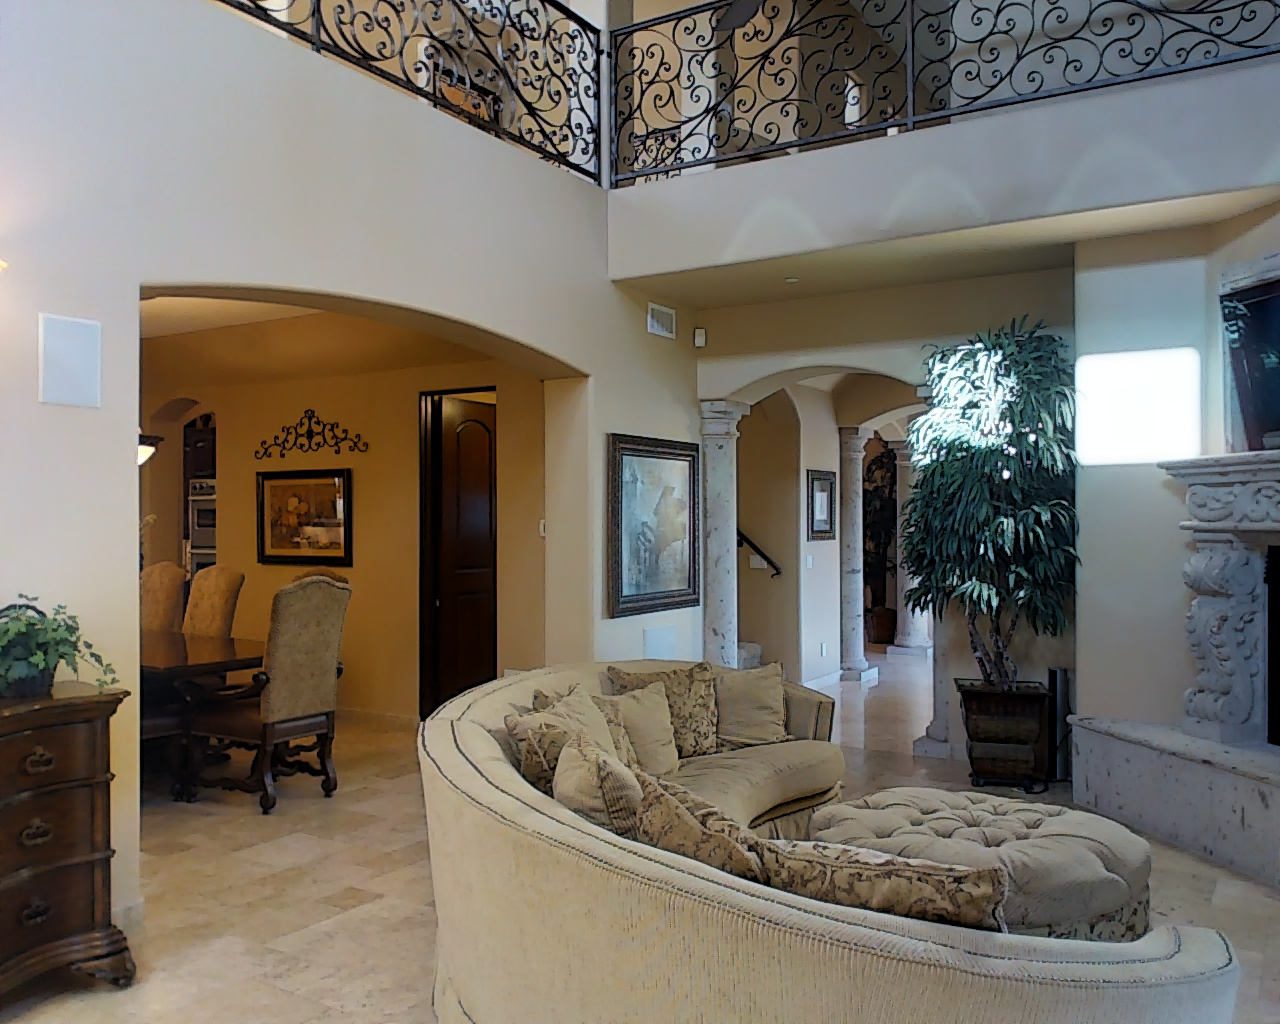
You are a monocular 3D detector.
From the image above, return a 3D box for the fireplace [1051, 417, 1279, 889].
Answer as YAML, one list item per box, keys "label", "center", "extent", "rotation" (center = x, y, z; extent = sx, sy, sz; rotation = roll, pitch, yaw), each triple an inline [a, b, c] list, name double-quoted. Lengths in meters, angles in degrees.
- label: "fireplace"
  center: [2.950, 0.580, 4.610]
  extent: [0.760, 1.930, 2.770]
  rotation: [0, -1, -13]

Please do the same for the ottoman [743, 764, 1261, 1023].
- label: "ottoman"
  center: [1.140, 1.280, 3.620]
  extent: [1.220, 0.520, 1.150]
  rotation: [0, -1, -17]

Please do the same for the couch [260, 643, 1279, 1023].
- label: "couch"
  center: [0.250, 1.110, 3.650]
  extent: [2.080, 0.850, 4.070]
  rotation: [0, -1, -7]
